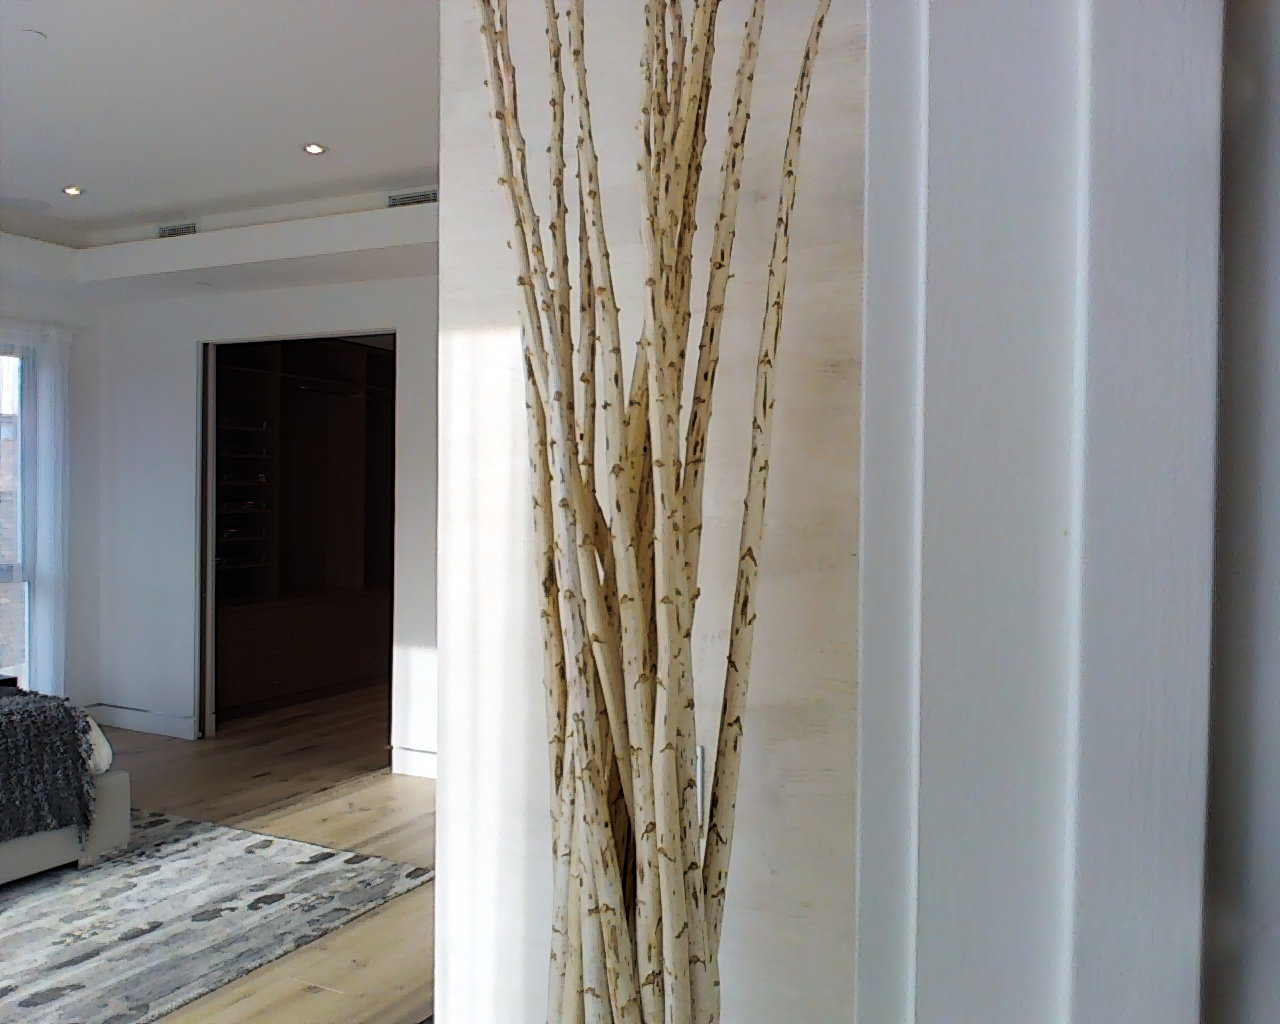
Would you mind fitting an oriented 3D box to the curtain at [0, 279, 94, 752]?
[{"bbox_3d":[-3.748,0.020,6.420,0.390,2.711,0.800,1,1,27],"label":"curtain"}]
